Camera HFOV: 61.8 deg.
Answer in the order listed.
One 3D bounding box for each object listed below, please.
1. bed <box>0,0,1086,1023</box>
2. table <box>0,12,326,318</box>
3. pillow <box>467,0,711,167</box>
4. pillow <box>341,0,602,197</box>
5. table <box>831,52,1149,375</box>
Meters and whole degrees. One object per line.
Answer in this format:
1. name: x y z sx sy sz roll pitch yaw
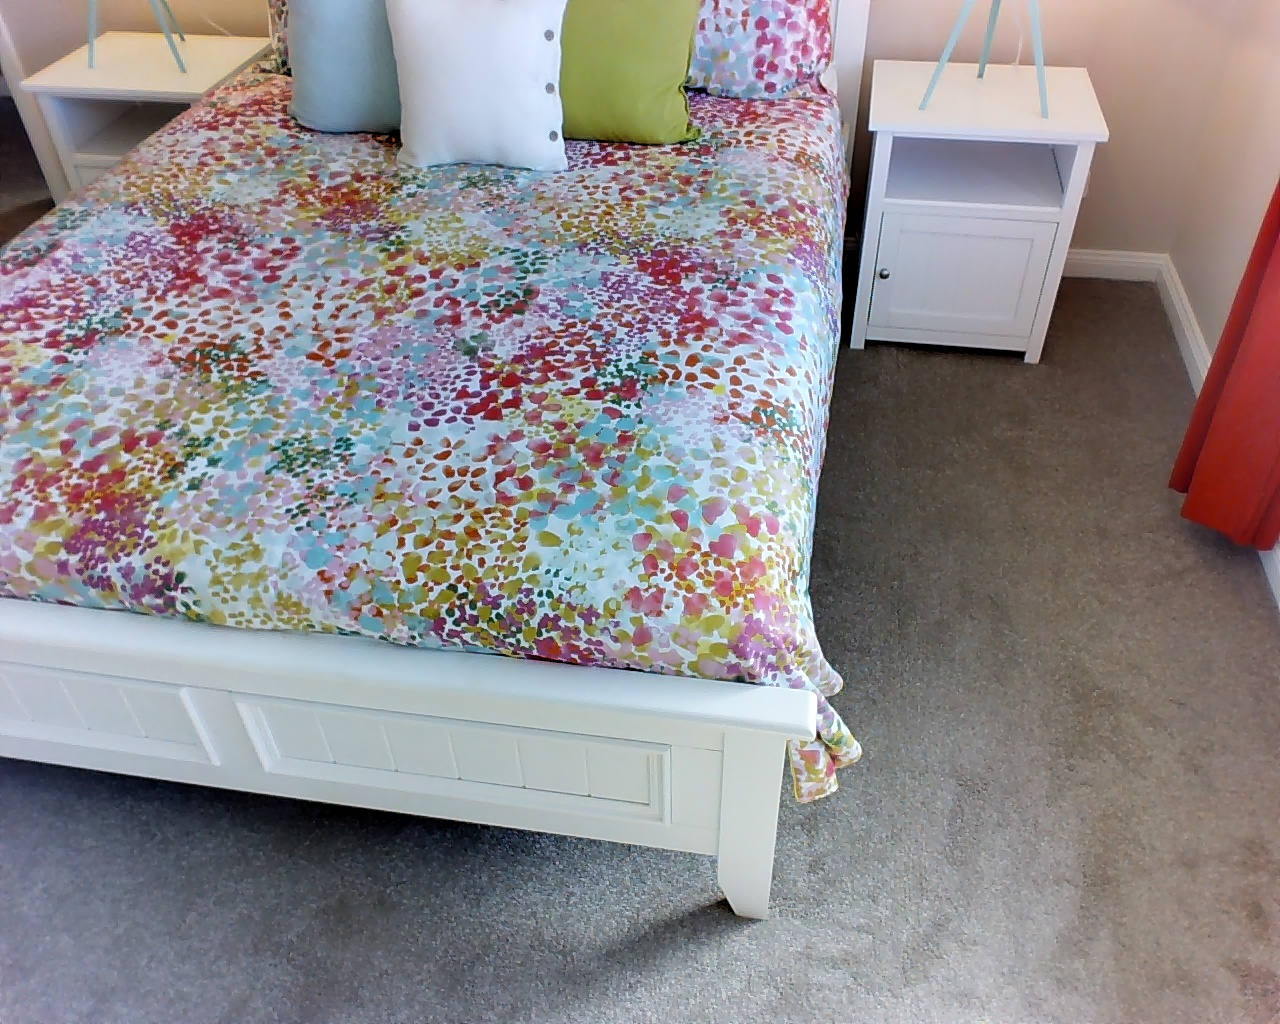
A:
1. bed: -0.450 -0.570 2.100 1.940 1.240 2.290 6 41 8
2. table: -1.350 -0.990 3.050 0.610 0.660 0.500 6 41 8
3. pillow: -0.090 -0.990 2.230 0.450 0.440 0.240 5 52 7
4. pillow: -0.320 -0.880 2.180 0.420 0.380 0.230 5 57 7
5. table: 0.840 -0.770 2.740 0.620 0.600 0.520 5 41 8
